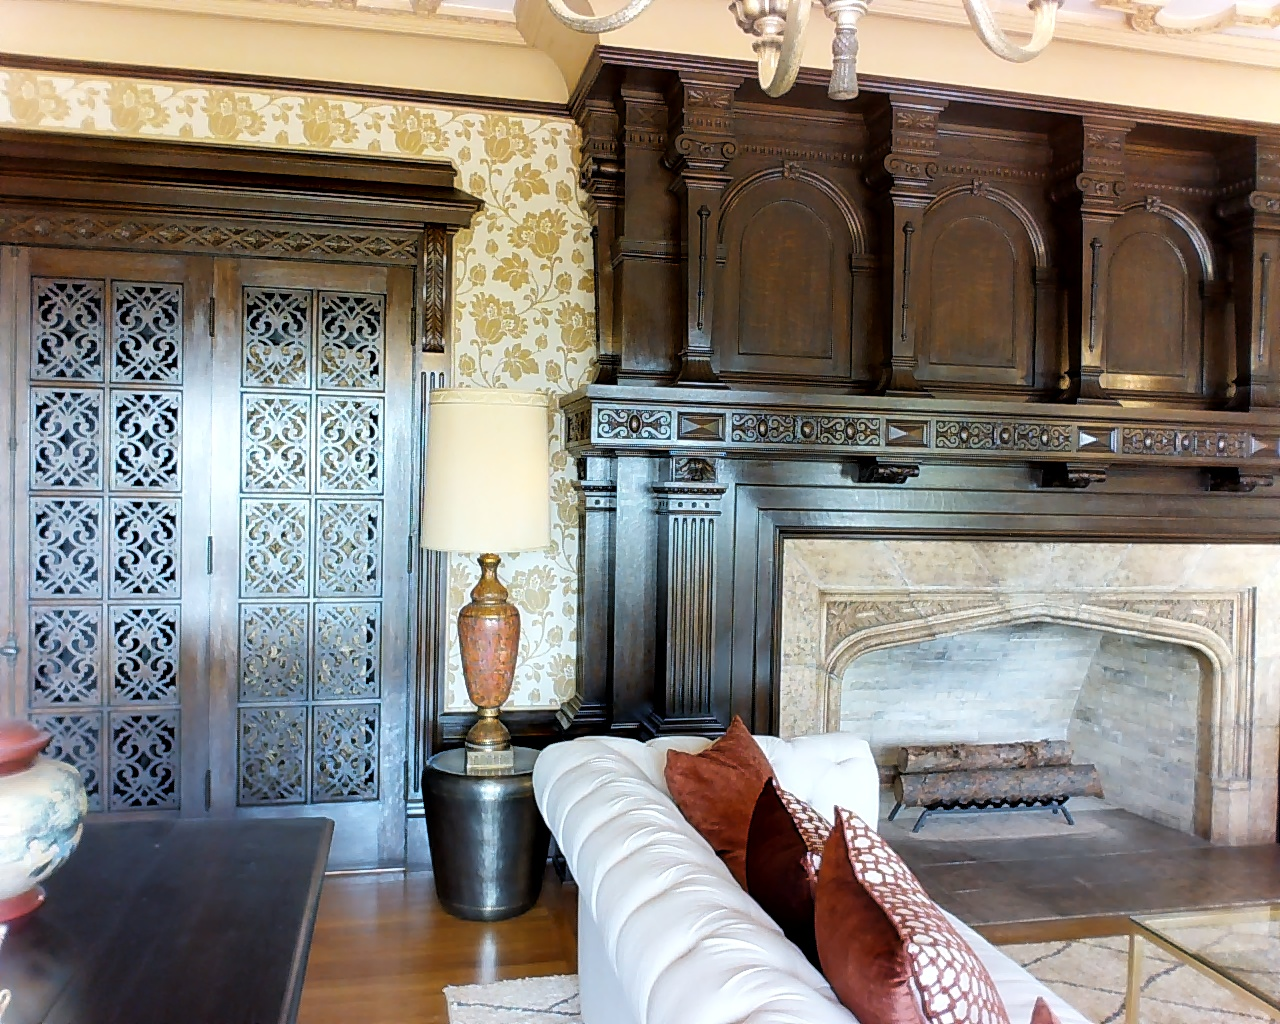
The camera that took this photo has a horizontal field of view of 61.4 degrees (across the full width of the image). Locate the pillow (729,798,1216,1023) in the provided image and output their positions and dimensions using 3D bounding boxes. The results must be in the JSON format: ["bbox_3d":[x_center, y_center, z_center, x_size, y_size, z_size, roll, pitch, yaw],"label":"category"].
[{"bbox_3d":[0.470,0.770,1.720,0.480,0.430,0.640,1,1,-12],"label":"pillow"}]

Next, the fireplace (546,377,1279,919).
[{"bbox_3d":[1.870,0.520,4.660,4.439,1.930,0.710,1,1,-13],"label":"fireplace"}]

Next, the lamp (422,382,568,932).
[{"bbox_3d":[-0.550,0.500,3.980,0.450,1.890,0.490,1,1,-13],"label":"lamp"}]
